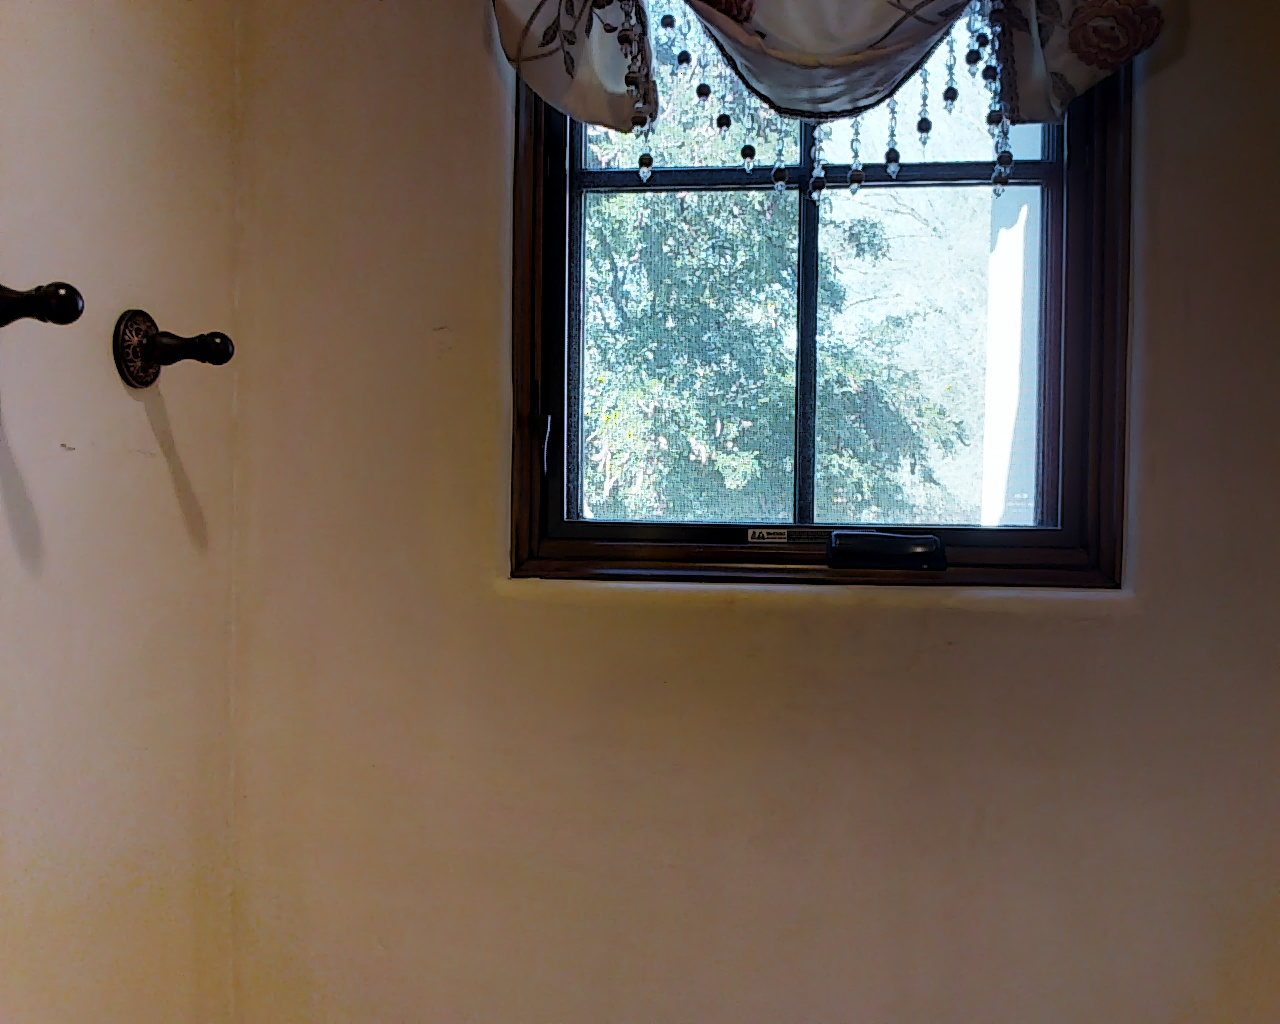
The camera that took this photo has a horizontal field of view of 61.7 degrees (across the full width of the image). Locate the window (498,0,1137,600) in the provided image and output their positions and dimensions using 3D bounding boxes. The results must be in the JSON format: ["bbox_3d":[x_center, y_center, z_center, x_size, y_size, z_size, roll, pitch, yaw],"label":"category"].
[{"bbox_3d":[0.170,-0.250,1.110,0.610,0.660,0.130,1,0,7],"label":"window"}]

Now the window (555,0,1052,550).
[{"bbox_3d":[0.160,-0.240,1.100,0.490,0.550,0.040,1,0,7],"label":"window"}]
